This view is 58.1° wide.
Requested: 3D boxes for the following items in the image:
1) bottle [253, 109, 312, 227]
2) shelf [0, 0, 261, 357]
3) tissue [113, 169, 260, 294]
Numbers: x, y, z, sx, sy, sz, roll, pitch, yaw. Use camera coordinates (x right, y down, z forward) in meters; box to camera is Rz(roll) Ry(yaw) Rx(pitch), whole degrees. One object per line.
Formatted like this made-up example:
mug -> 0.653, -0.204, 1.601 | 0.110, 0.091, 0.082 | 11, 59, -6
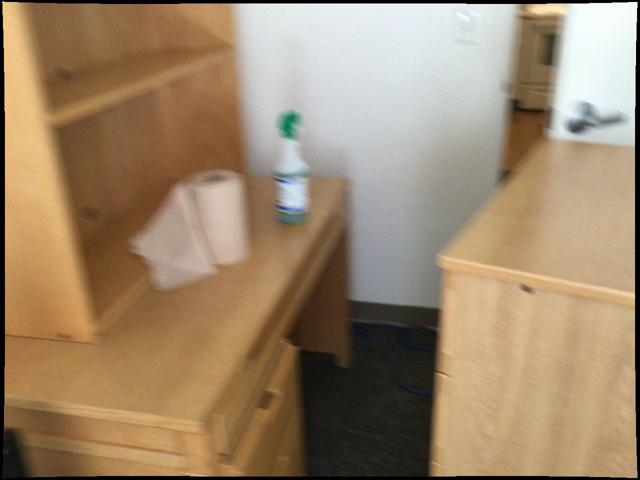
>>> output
bottle -> -0.100, -0.201, 1.610 | 0.110, 0.301, 0.120 | 3, 27, 14
shelf -> -0.509, -0.361, 1.430 | 0.329, 0.782, 1.030 | 3, 27, 14
tissue -> -0.309, -0.030, 1.400 | 0.239, 0.210, 0.240 | 3, 27, 14
